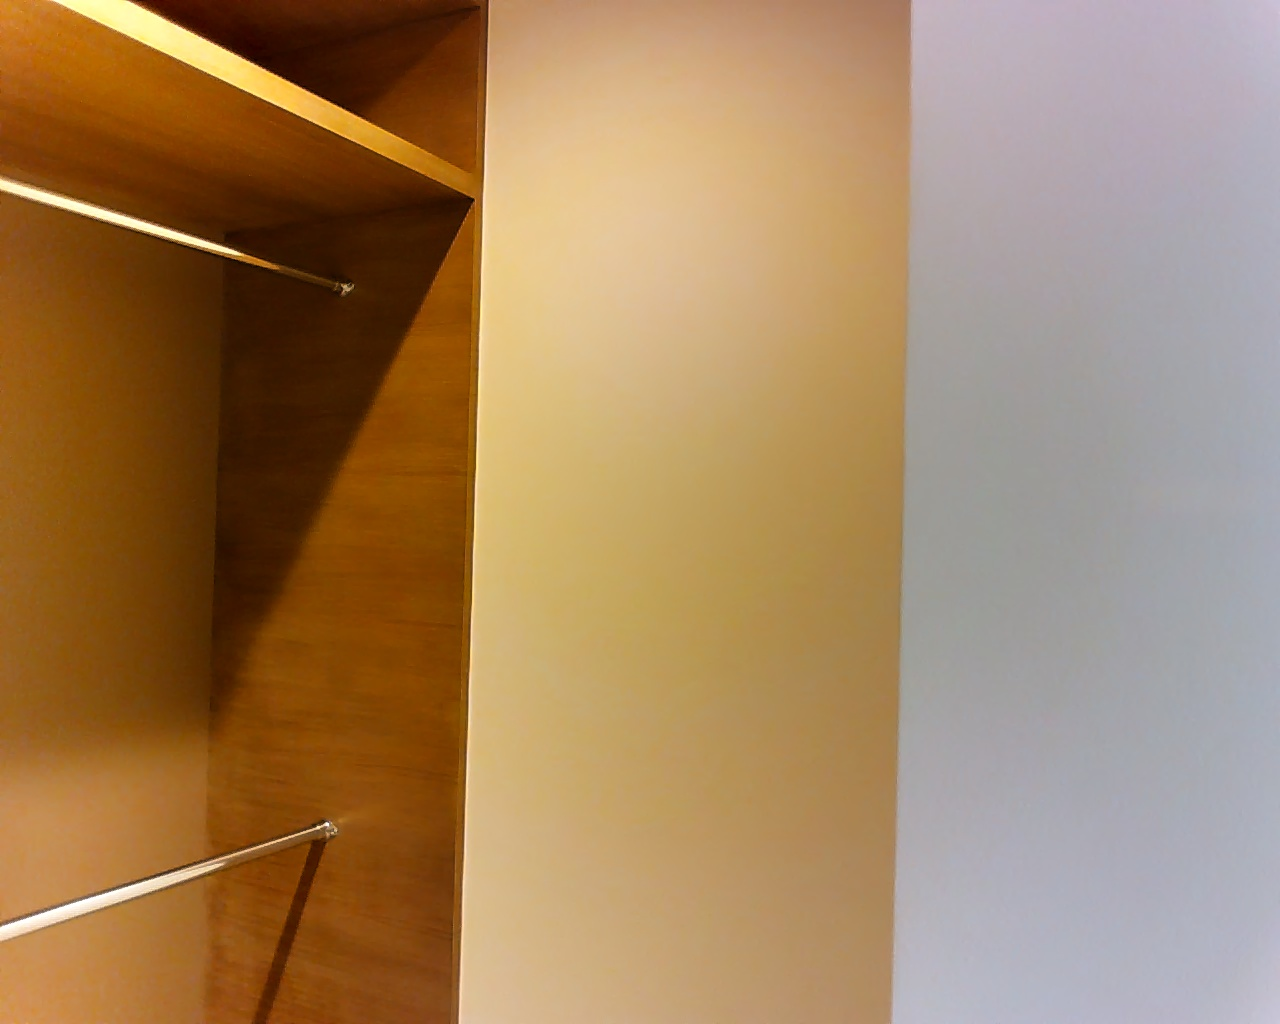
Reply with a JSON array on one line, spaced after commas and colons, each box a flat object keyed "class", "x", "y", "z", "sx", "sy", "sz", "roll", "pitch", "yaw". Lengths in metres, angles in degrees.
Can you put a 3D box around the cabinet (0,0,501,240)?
[{"class": "cabinet", "x": -0.720, "y": -0.780, "z": 1.520, "sx": 0.610, "sy": 0.500, "sz": 0.920, "roll": 1, "pitch": -1, "yaw": 29}]
